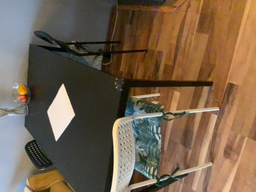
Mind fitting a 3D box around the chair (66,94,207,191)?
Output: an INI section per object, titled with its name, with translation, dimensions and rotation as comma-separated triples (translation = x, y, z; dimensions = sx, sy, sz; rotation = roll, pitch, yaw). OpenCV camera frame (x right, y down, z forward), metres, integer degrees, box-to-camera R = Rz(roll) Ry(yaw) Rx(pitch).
[chair]
translation = 0.090, 0.200, 1.240
dimensions = 0.380, 0.780, 0.400
rotation = 3, 94, 48
